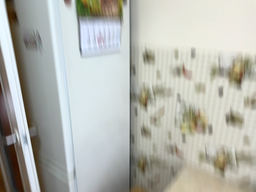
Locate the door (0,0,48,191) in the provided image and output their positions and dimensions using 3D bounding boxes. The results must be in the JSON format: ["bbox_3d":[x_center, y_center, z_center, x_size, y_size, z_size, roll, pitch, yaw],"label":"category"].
[{"bbox_3d":[-0.750,0.170,1.300,0.110,1.810,0.800,-18,27,-40],"label":"door"}]
